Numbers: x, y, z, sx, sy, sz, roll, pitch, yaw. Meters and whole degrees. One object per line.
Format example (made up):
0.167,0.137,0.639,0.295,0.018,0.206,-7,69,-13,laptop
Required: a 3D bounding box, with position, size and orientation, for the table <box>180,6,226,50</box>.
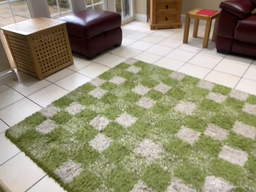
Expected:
1.040,-0.960,2.950,0.370,0.420,0.520,24,43,32,table
